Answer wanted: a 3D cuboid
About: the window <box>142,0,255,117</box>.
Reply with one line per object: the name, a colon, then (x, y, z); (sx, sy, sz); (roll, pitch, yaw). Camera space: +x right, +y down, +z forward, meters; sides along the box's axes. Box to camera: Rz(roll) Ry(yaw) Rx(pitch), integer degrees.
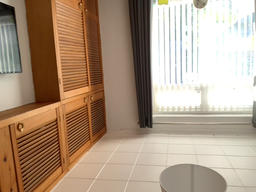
window: (1.130, -0.610, 2.980); (1.770, 1.790, 0.180); (-1, -172, 12)
